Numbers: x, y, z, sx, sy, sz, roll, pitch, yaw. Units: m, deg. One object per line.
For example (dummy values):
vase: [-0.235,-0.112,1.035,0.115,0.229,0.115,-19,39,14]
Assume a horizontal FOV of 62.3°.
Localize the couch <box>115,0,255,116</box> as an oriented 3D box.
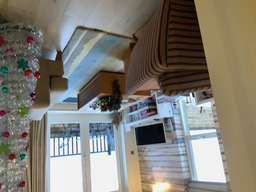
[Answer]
couch: [0.420,-0.330,1.660,0.870,0.790,0.820,-2,166,-12]
